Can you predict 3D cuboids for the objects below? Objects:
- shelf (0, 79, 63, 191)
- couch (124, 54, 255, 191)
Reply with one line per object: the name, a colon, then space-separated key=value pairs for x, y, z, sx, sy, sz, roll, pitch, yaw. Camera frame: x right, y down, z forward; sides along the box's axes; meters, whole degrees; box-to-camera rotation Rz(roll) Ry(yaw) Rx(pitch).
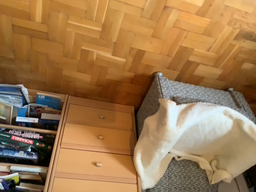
shelf: x=-0.760 y=0.340 z=1.360 sx=0.500 sy=0.870 sz=0.330 roll=11 pitch=135 yaw=-15
couch: x=0.450 y=0.410 z=1.460 sx=0.710 sy=0.970 sz=0.830 roll=11 pitch=135 yaw=-15
